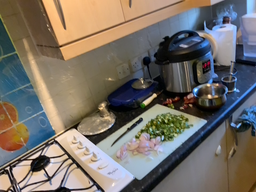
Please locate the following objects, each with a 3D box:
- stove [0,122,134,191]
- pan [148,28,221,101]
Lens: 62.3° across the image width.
[{"bbox_3d":[-0.360,0.330,0.770,0.570,0.030,0.530,-32,31,-30],"label":"stove"},{"bbox_3d":[0.310,-0.180,1.140,0.260,0.280,0.250,-32,31,-30],"label":"pan"}]
